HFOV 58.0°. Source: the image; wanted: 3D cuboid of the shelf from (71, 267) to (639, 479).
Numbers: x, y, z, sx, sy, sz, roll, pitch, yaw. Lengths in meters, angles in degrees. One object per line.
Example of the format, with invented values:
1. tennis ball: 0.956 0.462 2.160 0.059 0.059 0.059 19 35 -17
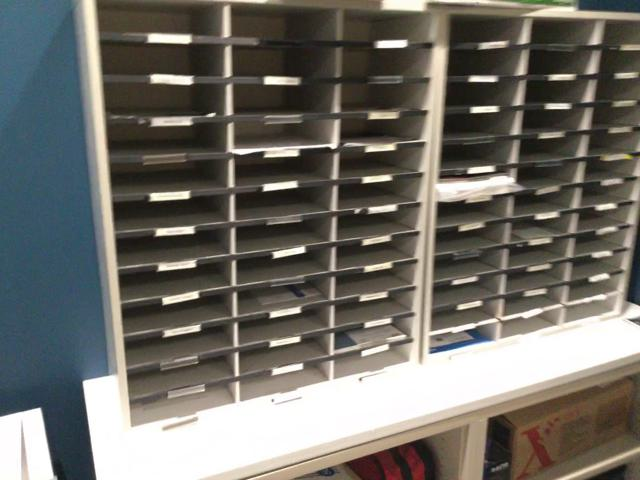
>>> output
1. shelf: 0.250 0.650 1.620 1.630 0.780 0.550 -8 20 -25
